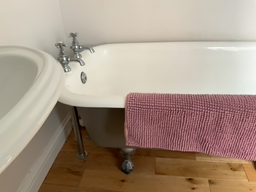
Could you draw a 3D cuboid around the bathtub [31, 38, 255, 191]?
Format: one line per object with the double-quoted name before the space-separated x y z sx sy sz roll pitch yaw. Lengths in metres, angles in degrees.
"bathtub" 0.510 0.080 1.200 1.670 0.600 0.770 2 31 8
